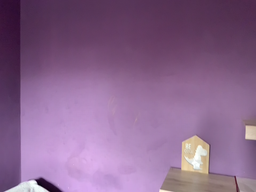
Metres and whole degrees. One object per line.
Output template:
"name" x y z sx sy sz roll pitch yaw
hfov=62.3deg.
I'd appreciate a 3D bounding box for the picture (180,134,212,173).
"picture" 0.510 0.430 1.600 0.210 0.260 0.050 3 4 19
